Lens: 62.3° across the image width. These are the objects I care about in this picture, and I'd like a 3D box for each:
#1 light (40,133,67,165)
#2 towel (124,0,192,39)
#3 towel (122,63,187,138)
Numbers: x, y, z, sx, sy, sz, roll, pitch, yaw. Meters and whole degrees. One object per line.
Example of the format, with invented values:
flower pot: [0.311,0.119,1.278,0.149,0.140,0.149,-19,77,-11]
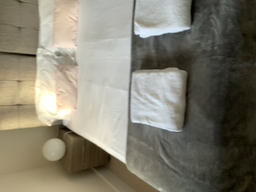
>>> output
light: [-0.870,0.600,2.450,0.280,0.210,0.240,17,104,51]
towel: [0.150,-0.520,1.180,0.440,0.080,0.350,13,102,52]
towel: [0.130,0.010,1.240,0.430,0.090,0.370,7,97,53]
